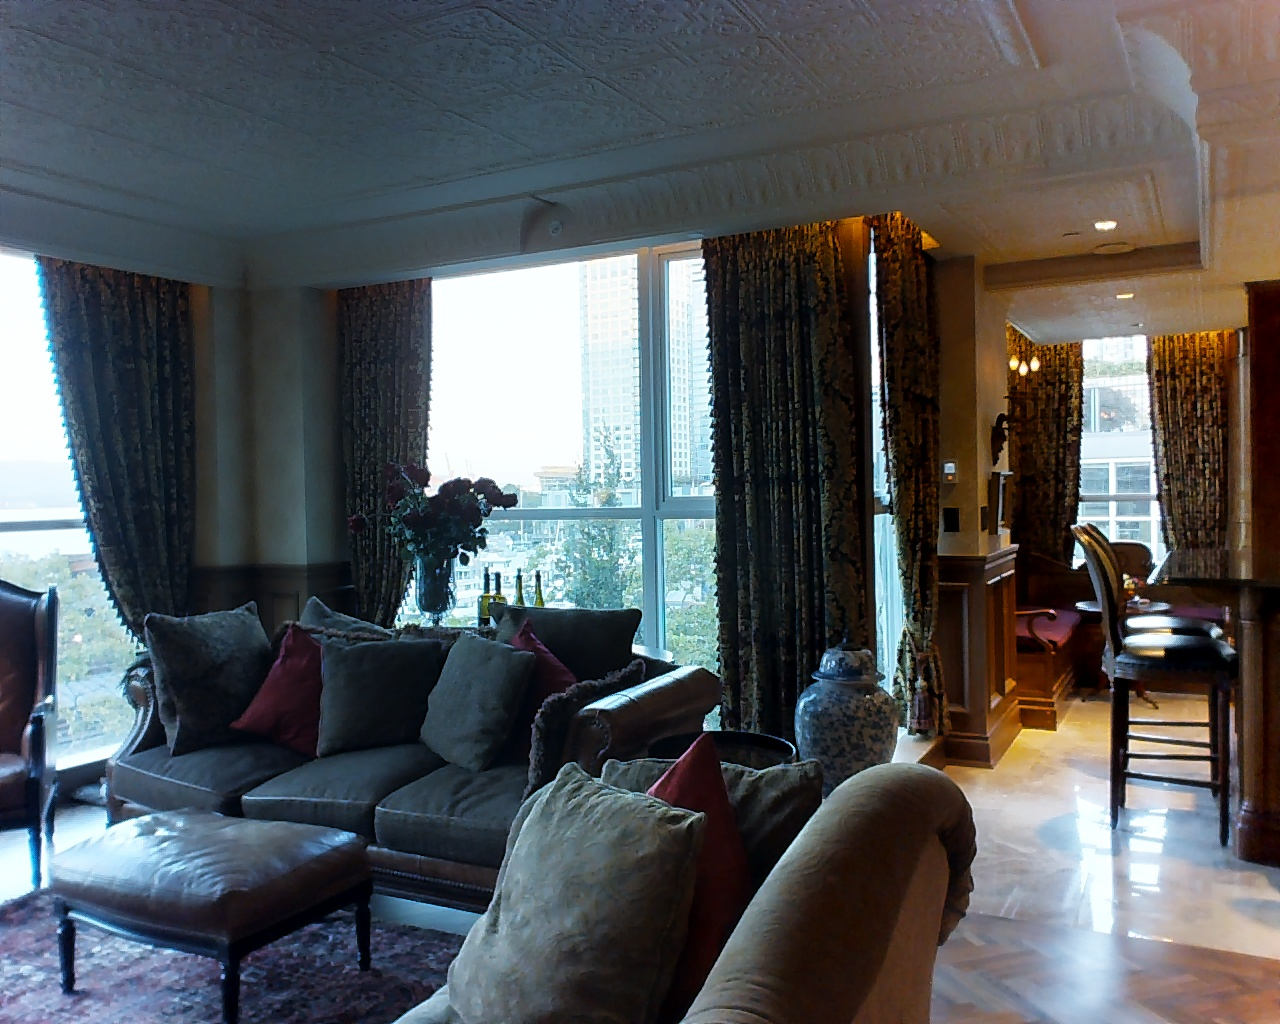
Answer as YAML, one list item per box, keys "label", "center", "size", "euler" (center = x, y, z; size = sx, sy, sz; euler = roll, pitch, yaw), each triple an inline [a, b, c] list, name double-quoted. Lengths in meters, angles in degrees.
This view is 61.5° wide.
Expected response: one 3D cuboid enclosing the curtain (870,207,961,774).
- label: "curtain"
  center: [1.360, -0.100, 5.240]
  size: [0.190, 2.531, 0.900]
  euler: [-1, 1, 28]
